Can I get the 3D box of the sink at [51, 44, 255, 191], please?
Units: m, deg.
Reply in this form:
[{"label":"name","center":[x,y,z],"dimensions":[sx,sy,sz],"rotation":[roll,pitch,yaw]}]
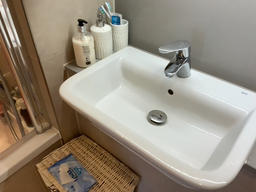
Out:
[{"label":"sink","center":[0.110,0.050,0.690],"dimensions":[0.530,0.150,0.430],"rotation":[27,46,28]}]
